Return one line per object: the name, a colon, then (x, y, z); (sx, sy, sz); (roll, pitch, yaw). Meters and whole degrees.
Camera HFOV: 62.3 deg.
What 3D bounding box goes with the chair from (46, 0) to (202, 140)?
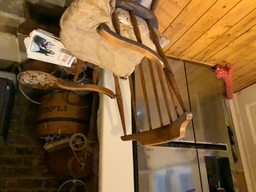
chair: (-0.050, -0.260, 1.160); (0.550, 0.870, 0.500); (12, 154, -30)
